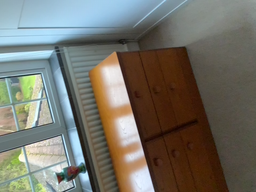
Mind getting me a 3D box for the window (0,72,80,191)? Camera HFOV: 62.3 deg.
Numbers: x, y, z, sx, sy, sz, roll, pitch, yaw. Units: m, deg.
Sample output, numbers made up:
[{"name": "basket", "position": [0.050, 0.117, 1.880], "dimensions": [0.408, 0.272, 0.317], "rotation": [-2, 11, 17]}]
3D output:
[{"name": "window", "position": [-0.770, 0.640, 1.510], "dimensions": [0.100, 0.770, 1.570], "rotation": [-21, 83, 55]}]
